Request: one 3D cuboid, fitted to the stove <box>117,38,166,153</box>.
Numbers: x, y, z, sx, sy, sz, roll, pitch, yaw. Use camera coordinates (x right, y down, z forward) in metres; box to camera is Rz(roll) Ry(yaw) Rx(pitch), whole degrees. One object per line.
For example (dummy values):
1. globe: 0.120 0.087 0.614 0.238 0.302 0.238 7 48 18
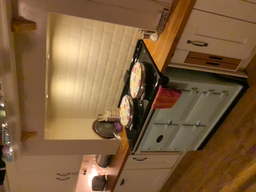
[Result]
1. stove: 0.080 0.010 2.230 0.700 0.040 0.990 -106 28 -46
